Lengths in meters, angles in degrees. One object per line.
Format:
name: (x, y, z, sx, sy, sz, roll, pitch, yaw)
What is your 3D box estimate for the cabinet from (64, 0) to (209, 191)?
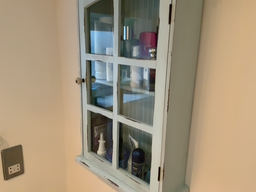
cabinet: (-0.010, -0.020, 0.650, 0.400, 0.640, 0.150, 14, 18, 41)
